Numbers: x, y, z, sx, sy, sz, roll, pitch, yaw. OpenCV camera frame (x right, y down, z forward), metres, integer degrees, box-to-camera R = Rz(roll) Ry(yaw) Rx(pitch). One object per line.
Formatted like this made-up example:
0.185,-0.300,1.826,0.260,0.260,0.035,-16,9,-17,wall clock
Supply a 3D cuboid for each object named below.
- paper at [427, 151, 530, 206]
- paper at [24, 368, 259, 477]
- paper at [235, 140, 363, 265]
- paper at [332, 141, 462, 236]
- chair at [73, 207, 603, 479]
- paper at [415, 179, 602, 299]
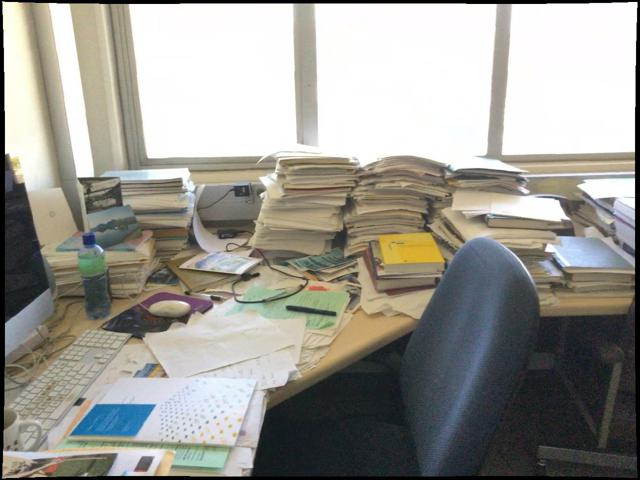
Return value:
0.519,-0.211,1.930,0.269,0.120,0.250,-2,19,0,paper
-0.309,0.331,1.080,0.359,0.040,0.260,-2,19,1,paper
-0.060,-0.140,1.940,0.379,0.321,0.370,-2,19,0,paper
0.239,-0.180,1.920,0.389,0.241,0.290,-2,19,0,paper
0.040,0.541,1.220,0.678,1.062,0.660,-2,19,1,chair
0.519,-0.020,1.700,0.409,0.221,0.410,-2,19,0,paper
